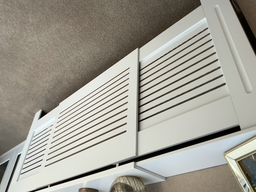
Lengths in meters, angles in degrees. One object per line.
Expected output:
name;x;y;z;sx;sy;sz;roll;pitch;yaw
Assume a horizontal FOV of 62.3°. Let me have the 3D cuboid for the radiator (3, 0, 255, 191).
radiator;-0.250;0.160;1.290;1.680;0.710;0.120;-28;134;34
